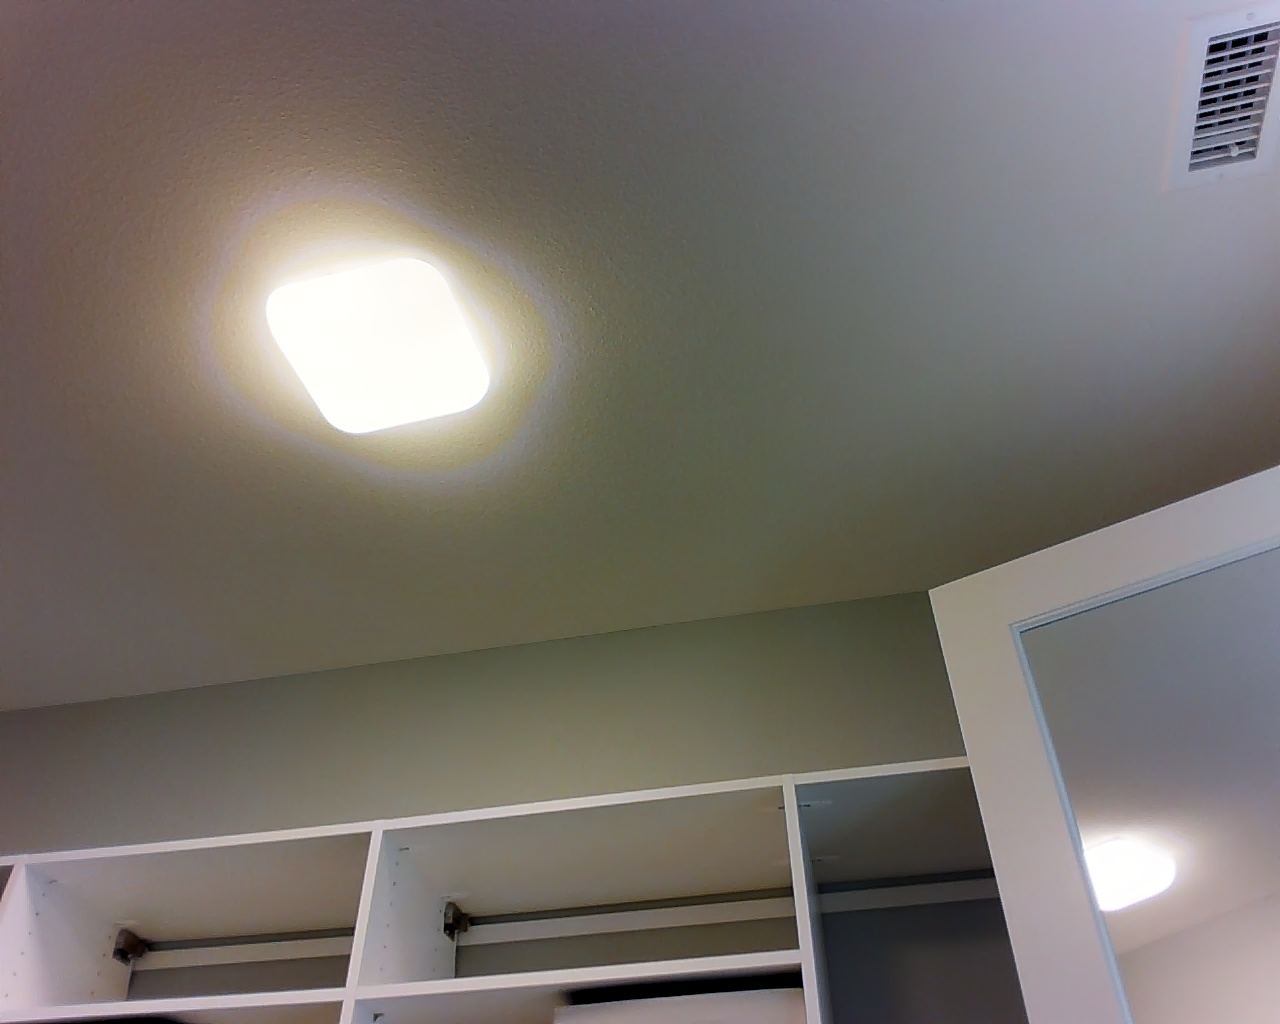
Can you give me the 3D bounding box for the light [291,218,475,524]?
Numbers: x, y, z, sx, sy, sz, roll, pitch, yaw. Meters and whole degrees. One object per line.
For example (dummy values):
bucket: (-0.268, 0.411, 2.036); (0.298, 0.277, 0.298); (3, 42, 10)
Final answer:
light: (-0.370, -0.210, 1.620); (0.110, 0.320, 0.310); (-9, 47, 9)
